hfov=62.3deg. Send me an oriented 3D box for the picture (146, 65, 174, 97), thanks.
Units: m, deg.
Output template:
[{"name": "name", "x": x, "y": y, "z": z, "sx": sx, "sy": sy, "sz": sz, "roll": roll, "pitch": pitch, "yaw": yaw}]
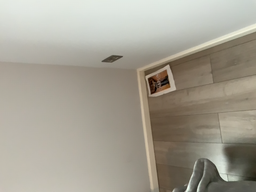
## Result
[{"name": "picture", "x": 0.260, "y": -0.120, "z": 1.770, "sx": 0.240, "sy": 0.040, "sz": 0.210, "roll": -20, "pitch": 76, "yaw": 50}]
